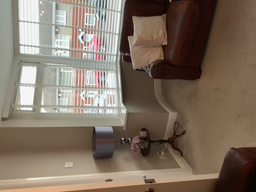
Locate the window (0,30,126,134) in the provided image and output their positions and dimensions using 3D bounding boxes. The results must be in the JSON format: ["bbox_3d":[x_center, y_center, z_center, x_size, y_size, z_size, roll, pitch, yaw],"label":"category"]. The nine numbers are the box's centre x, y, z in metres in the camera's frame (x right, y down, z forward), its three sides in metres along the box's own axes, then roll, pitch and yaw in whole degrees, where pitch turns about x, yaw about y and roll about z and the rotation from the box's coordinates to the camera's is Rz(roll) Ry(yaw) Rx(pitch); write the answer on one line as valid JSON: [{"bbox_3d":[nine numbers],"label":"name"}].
[{"bbox_3d":[-0.840,-0.200,2.980,0.170,1.520,1.420,126,142,-62],"label":"window"}]

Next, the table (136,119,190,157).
[{"bbox_3d":[0.420,0.510,2.670,0.340,0.530,0.330,-126,41,-64],"label":"table"}]
